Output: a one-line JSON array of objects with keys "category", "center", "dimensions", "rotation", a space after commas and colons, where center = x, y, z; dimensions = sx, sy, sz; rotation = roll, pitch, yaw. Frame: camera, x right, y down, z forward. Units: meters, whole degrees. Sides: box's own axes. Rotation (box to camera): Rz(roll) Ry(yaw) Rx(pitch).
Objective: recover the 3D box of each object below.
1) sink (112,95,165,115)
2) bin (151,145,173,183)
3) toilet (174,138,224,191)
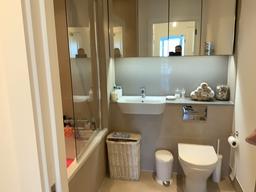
[{"category": "sink", "center": [0.150, 0.100, 2.530], "dimensions": [0.570, 0.130, 0.430], "rotation": [1, 11, 12]}, {"category": "bin", "center": [0.390, 0.770, 2.420], "dimensions": [0.230, 0.310, 0.250], "rotation": [1, 11, 14]}, {"category": "toilet", "center": [0.700, 0.760, 2.210], "dimensions": [0.410, 0.440, 0.530], "rotation": [1, 11, 10]}]
